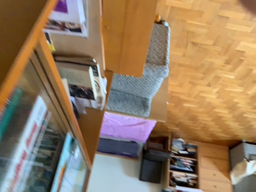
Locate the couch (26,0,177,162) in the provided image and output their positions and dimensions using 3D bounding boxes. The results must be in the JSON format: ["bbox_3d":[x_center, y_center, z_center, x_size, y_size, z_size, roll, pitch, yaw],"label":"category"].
[{"bbox_3d":[-0.140,-0.120,1.700,0.810,0.990,0.740,11,150,-6],"label":"couch"}]

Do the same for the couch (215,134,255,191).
[{"bbox_3d":[1.990,1.280,3.550,0.620,0.970,0.790,11,150,-4],"label":"couch"}]

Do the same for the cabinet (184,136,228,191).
[{"bbox_3d":[1.340,1.210,3.720,0.580,0.850,0.360,11,150,-4],"label":"cabinet"}]
